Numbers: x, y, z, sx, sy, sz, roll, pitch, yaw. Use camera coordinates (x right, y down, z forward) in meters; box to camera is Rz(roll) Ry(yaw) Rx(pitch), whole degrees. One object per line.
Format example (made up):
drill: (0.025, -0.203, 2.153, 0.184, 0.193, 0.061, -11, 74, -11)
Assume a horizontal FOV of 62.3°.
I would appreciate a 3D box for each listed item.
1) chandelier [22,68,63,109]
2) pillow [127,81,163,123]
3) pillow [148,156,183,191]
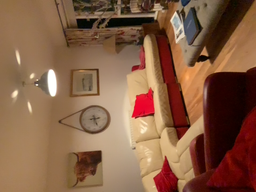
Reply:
chandelier: (-1.310, -0.110, 3.340, 0.440, 0.520, 0.410, -3, -120, -6)
pillow: (0.300, 0.120, 3.960, 0.240, 0.530, 0.560, 26, -135, -44)
pillow: (0.520, 1.090, 2.920, 0.140, 0.380, 0.440, 44, -137, -3)
